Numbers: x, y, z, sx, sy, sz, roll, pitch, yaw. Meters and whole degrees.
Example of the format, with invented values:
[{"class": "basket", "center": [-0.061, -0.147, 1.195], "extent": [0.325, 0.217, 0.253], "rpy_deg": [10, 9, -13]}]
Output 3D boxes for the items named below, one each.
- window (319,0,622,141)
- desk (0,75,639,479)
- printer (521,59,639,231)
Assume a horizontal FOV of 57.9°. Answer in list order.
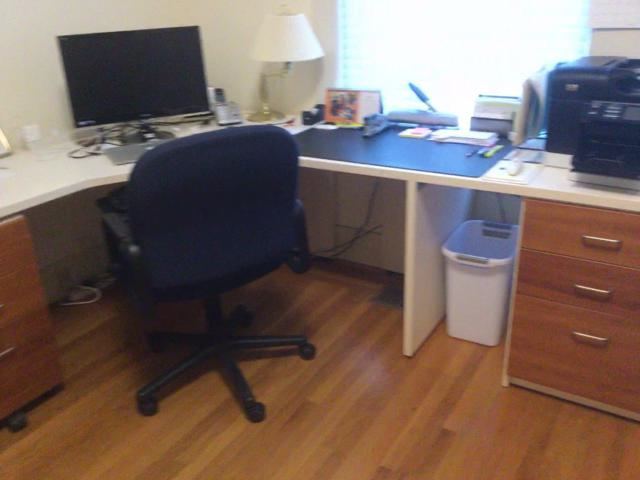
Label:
[{"class": "window", "center": [0.520, -1.170, 2.050], "extent": [1.100, 1.490, 0.130], "rpy_deg": [13, 25, 27]}, {"class": "desk", "center": [-0.130, 0.110, 1.910], "extent": [2.430, 0.960, 1.790], "rpy_deg": [13, 25, 27]}, {"class": "printer", "center": [0.970, -0.310, 1.750], "extent": [0.520, 0.390, 0.610], "rpy_deg": [13, 25, 27]}]
